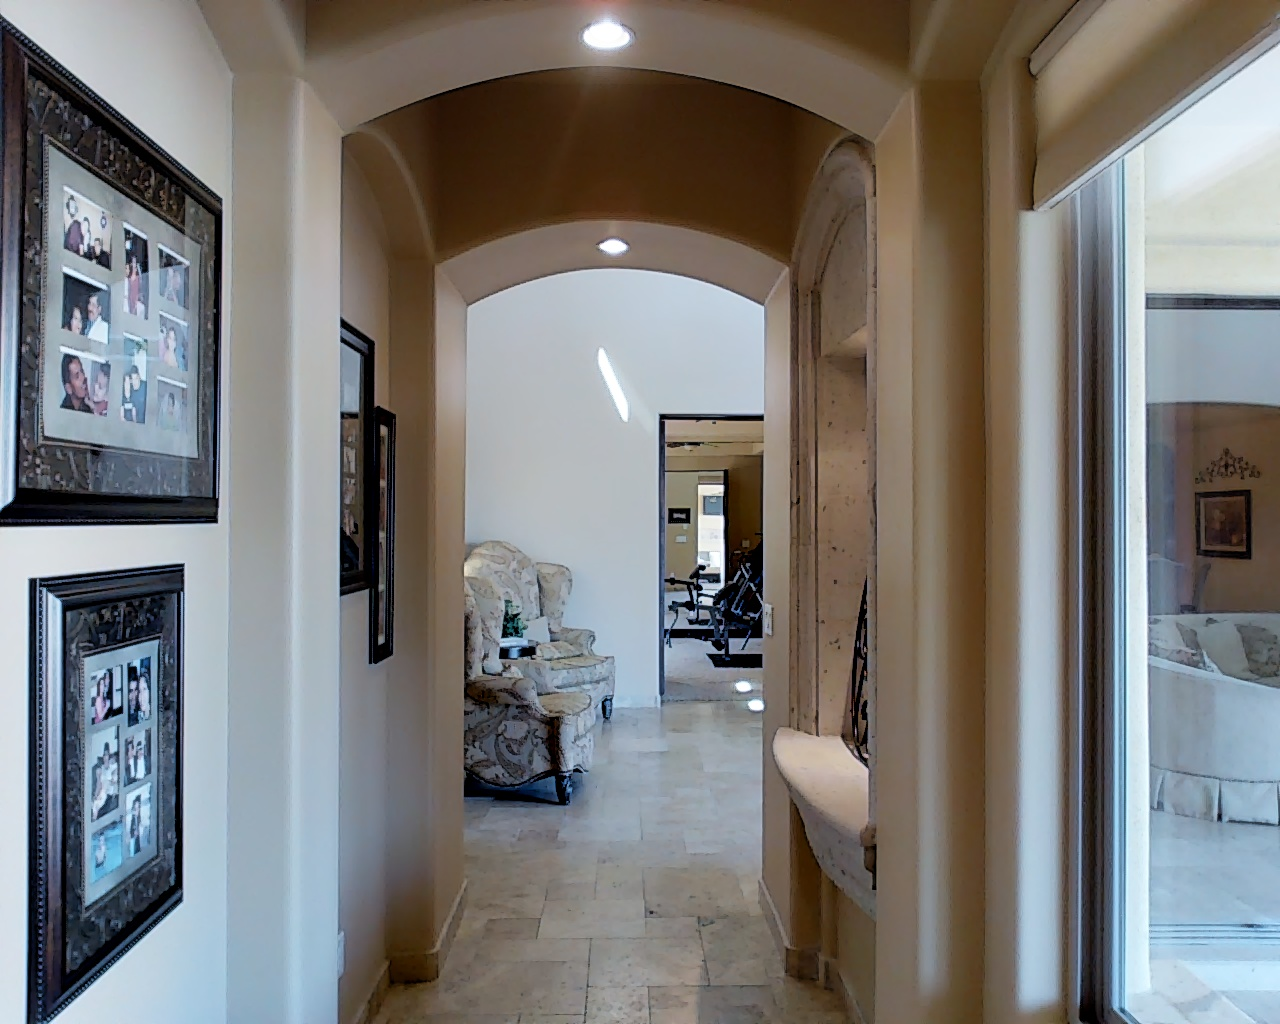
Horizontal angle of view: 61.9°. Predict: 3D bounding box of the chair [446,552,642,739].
[{"bbox_3d":[-0.750,0.980,8.380,1.050,1.290,1.100,0,-1,43],"label":"chair"}]
